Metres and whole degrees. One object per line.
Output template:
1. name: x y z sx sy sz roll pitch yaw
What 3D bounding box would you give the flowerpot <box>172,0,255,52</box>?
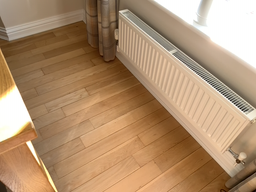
1. flowerpot: 0.410 -0.500 0.910 0.300 0.440 0.340 15 49 9
